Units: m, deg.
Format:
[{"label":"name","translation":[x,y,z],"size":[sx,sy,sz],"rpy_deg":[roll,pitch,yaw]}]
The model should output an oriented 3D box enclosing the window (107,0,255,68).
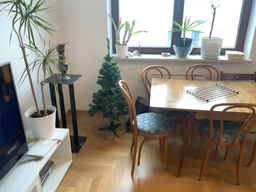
[{"label":"window","translation":[0.660,-1.290,2.510],"size":[1.800,1.850,0.290],"rpy_deg":[1,22,3]}]
